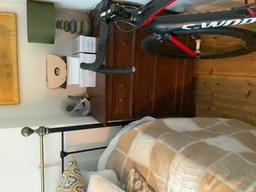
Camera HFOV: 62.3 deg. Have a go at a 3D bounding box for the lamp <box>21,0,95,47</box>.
[{"bbox_3d":[-0.530,-0.540,1.600,0.310,0.480,0.270,-163,73,-63],"label":"lamp"}]
